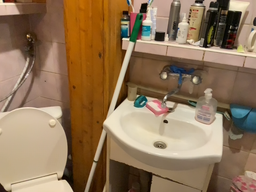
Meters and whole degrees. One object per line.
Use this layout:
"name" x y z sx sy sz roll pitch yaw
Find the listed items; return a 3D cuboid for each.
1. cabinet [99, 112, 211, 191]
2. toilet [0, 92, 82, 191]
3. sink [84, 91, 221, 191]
"cabinet" 0.130 0.530 1.210 0.490 0.720 0.320 13 26 18
"toilet" -0.470 0.500 1.090 0.380 0.810 0.670 -6 27 -19
"sink" 0.140 0.170 0.990 0.520 0.140 0.430 13 26 18
